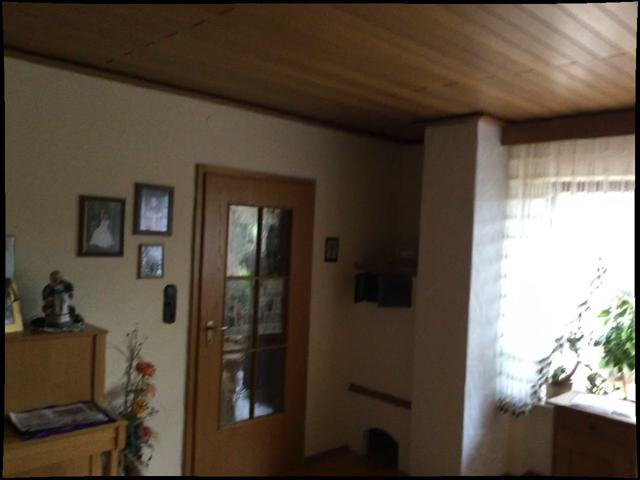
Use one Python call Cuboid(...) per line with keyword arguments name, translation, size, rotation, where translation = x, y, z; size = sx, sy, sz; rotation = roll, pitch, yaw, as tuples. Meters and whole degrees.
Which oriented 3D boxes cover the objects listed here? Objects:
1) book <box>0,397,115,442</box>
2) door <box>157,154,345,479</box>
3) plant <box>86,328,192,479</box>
Cuboid(name="book", translation=(-1.069, 0.721, 2.350), size=(0.370, 0.040, 0.250), rotation=(3, 3, -44))
Cuboid(name="door", translation=(-0.390, 0.521, 3.620), size=(1.129, 1.952, 0.210), rotation=(3, 3, -44))
Cuboid(name="plant", translation=(-0.929, 0.991, 2.920), size=(0.310, 1.001, 0.410), rotation=(3, 3, -44))
